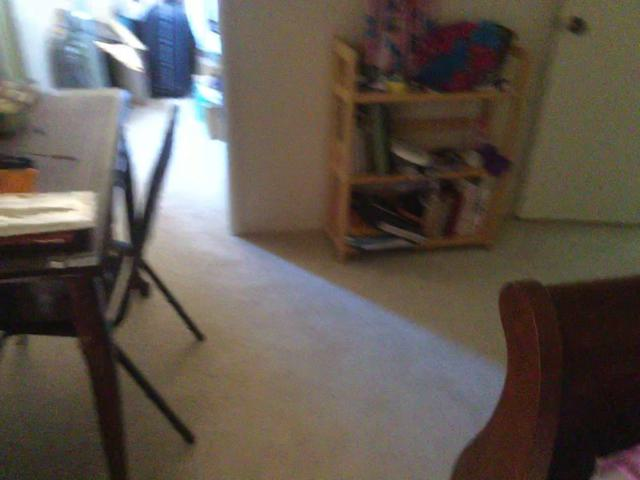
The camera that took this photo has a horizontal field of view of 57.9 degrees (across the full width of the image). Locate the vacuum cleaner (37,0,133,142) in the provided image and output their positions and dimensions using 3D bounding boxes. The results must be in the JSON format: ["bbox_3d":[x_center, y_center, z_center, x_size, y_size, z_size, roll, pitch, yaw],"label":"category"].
[{"bbox_3d":[-1.230,-1.010,3.050,0.330,0.900,0.310,-6,31,-13],"label":"vacuum cleaner"}]

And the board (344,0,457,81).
[{"bbox_3d":[0.290,-0.890,2.050,0.360,0.590,0.160,-7,31,-13],"label":"board"}]
